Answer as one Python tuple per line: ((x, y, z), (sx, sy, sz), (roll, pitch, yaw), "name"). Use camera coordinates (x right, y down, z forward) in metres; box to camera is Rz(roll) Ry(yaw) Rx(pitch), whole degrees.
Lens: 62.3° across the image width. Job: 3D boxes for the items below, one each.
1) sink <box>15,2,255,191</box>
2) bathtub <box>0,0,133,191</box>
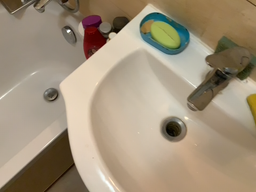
((0.090, 0.090, 0.480), (0.390, 0.140, 0.520), (-42, 74, -15), "sink")
((-0.710, 0.180, 0.980), (1.380, 0.560, 0.670), (-42, 74, -15), "bathtub")
